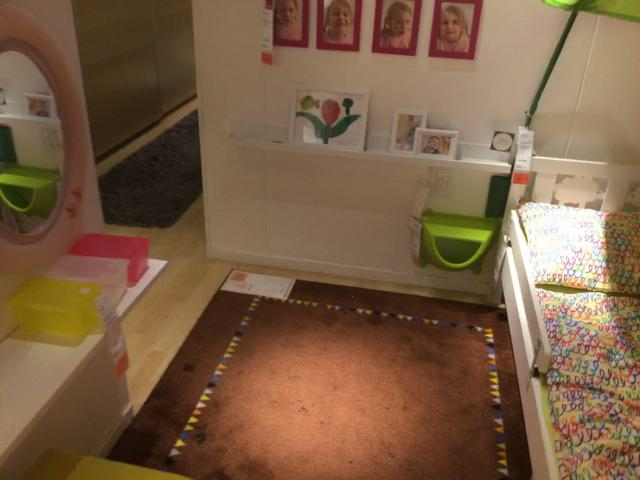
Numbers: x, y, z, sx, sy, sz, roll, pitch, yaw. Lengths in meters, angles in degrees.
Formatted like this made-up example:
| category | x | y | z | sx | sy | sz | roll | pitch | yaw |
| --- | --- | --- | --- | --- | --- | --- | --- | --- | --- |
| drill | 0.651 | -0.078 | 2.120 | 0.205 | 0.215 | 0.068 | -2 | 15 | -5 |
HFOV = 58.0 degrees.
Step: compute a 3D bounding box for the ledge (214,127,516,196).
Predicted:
| category | x | y | z | sx | sy | sz | roll | pitch | yaw |
| --- | --- | --- | --- | --- | --- | --- | --- | --- | --- |
| ledge | 0.150 | -0.320 | 2.280 | 1.180 | 0.110 | 0.110 | 8 | 28 | 13 |
